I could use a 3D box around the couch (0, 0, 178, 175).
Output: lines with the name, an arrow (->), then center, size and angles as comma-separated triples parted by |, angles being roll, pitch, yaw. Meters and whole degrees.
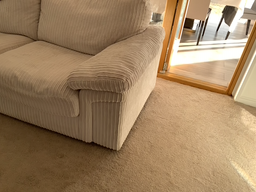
couch -> -0.820, -0.440, 1.720 | 2.100, 0.890, 1.060 | 17, 36, 14
